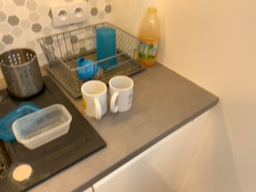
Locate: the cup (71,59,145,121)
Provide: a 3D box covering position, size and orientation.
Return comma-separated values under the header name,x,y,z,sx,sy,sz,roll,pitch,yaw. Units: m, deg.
name,x,y,z,sx,sy,sz,roll,pitch,yaw
cup,-0.070,-0.030,0.740,0.190,0.090,0.160,-22,46,-28
